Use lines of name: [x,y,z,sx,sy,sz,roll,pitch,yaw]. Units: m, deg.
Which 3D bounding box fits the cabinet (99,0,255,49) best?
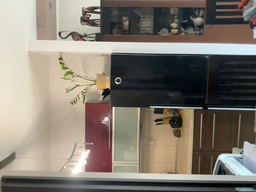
cabinet: [0.630,-0.900,2.670,0.510,1.910,0.520,-94,5,-84]
